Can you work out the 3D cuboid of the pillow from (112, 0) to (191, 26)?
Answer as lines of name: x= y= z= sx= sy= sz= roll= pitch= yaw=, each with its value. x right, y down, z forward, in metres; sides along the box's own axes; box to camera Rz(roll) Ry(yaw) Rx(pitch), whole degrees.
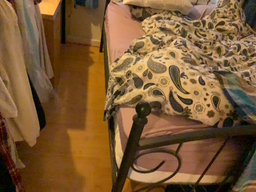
pillow: x=0.210 y=-0.960 z=2.130 sx=0.650 sy=0.270 sz=0.430 roll=1 pitch=39 yaw=-18
